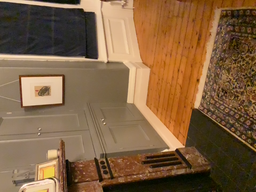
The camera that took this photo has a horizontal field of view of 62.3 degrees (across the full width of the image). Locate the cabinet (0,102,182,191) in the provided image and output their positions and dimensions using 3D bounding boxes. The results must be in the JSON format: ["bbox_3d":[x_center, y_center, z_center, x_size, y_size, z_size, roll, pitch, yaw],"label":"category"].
[{"bbox_3d":[-0.640,0.510,2.580,1.150,2.210,0.410,-131,43,-62],"label":"cabinet"}]
